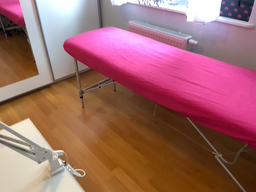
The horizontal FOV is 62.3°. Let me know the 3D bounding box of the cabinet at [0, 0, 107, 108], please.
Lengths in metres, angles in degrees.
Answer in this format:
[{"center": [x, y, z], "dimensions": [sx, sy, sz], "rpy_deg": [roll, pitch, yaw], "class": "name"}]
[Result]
[{"center": [-1.090, -1.160, 2.150], "dimensions": [1.540, 2.180, 0.670], "rpy_deg": [-28, 43, -35], "class": "cabinet"}]
